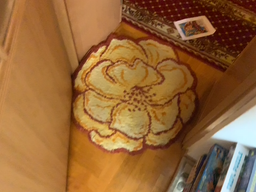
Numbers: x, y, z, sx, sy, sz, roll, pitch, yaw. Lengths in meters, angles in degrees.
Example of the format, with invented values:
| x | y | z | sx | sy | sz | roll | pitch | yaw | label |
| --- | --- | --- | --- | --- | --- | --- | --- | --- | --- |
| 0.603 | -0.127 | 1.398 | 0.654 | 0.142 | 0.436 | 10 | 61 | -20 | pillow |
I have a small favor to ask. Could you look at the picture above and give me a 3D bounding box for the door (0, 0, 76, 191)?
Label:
| x | y | z | sx | sy | sz | roll | pitch | yaw | label |
| --- | --- | --- | --- | --- | --- | --- | --- | --- | --- |
| -0.280 | -0.160 | 0.300 | 0.060 | 2.230 | 0.810 | -1 | 63 | -6 | door |
